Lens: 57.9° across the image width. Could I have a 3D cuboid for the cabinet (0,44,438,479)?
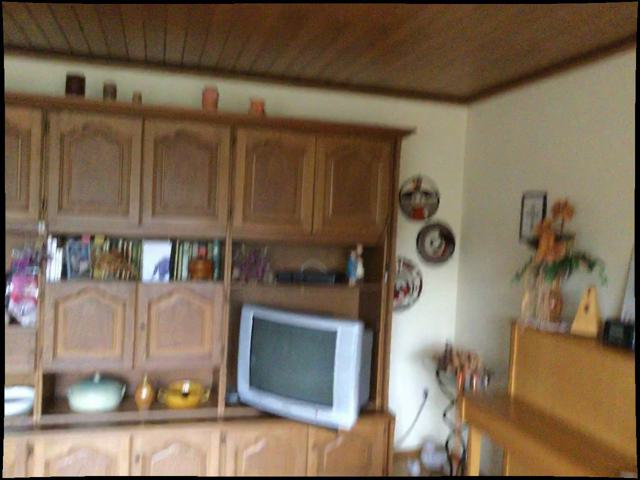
[{"bbox_3d":[-1.359,0.230,3.020,3.827,2.222,0.750,2,5,-18],"label":"cabinet"}]
